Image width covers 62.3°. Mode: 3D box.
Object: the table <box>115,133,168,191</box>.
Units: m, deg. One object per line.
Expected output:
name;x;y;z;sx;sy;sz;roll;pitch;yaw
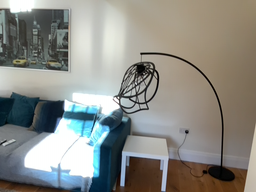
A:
table;0.200;0.870;2.820;0.600;0.510;0.600;5;11;9
